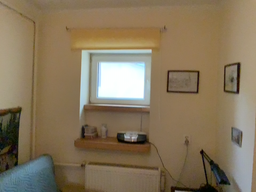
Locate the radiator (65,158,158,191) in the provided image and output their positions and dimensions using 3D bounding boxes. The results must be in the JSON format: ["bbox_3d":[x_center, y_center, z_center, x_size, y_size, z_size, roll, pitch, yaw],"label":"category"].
[{"bbox_3d":[-0.180,1.140,2.260,0.950,0.830,0.200,2,1,9],"label":"radiator"}]

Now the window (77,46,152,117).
[{"bbox_3d":[-0.160,-0.180,2.620,0.860,0.810,0.280,2,1,9],"label":"window"}]
